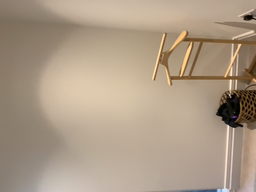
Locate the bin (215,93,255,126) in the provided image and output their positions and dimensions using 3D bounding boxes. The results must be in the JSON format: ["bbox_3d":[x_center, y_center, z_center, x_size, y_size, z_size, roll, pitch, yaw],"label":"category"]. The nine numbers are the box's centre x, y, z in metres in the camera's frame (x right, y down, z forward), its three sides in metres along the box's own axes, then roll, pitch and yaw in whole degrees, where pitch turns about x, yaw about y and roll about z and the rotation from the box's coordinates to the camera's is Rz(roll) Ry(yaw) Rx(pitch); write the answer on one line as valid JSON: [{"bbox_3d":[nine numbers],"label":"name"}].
[{"bbox_3d":[1.050,0.120,2.000,0.280,0.310,0.270,-167,79,-80],"label":"bin"}]
